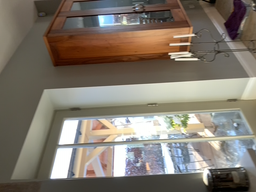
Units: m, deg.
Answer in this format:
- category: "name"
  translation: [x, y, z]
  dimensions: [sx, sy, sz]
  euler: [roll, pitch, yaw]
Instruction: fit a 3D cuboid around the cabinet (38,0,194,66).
- category: "cabinet"
  translation: [-0.140, -0.960, 2.780]
  dimensions: [0.360, 1.640, 1.230]
  euler: [86, -178, -46]
